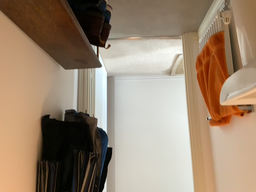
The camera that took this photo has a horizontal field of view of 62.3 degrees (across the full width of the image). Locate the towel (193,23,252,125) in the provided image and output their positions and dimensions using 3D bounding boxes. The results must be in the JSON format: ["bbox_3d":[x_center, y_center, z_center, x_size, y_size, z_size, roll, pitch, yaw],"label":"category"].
[{"bbox_3d":[0.540,-0.090,1.300,0.120,0.500,0.470,-2,168,3],"label":"towel"}]
